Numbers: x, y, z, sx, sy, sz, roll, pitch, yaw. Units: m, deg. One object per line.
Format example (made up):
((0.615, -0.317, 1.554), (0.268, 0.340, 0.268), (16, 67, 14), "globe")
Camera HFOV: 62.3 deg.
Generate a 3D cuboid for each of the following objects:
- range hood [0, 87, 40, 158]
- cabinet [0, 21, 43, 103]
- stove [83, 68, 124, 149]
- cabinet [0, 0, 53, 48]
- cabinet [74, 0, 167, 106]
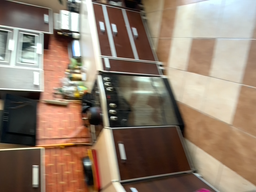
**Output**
((-1.250, 0.260, 2.080), (0.320, 0.690, 0.610), (128, 138, -52), "range hood")
((-1.350, -0.400, 2.490), (0.350, 0.630, 0.910), (126, 139, -51), "cabinet")
((-0.290, 0.150, 2.240), (0.610, 0.180, 0.620), (126, 139, -51), "stove")
((-1.440, -1.030, 2.870), (0.340, 0.750, 0.580), (126, 139, -51), "cabinet")
((-0.180, -0.530, 2.850), (0.780, 0.860, 1.080), (126, 139, -51), "cabinet")
